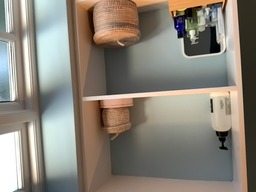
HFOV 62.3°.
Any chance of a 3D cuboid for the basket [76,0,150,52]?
[{"bbox_3d":[-0.060,-0.380,1.110,0.280,0.220,0.300,-3,-179,19],"label":"basket"}]
